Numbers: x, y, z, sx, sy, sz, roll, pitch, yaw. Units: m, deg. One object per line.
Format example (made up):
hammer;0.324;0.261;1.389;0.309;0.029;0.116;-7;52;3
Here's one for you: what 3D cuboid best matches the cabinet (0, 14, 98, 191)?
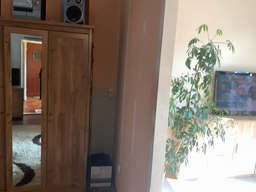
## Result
cabinet;-1.090;0.140;2.450;1.300;1.890;0.630;3;7;-14
